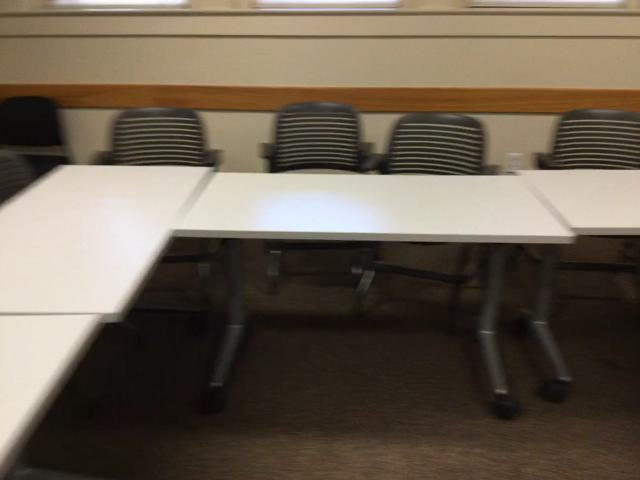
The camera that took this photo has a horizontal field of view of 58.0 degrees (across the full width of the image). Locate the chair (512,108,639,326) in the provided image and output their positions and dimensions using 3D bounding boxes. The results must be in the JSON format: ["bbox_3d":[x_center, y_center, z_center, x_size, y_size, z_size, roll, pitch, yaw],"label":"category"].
[{"bbox_3d":[1.210,-0.120,2.460,0.580,0.790,0.530,4,20,8],"label":"chair"}]

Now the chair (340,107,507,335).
[{"bbox_3d":[0.460,-0.130,2.540,0.580,0.780,0.660,7,21,14],"label":"chair"}]

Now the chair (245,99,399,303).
[{"bbox_3d":[-0.030,-0.220,2.840,0.640,0.840,0.650,-1,21,-6],"label":"chair"}]

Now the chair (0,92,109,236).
[{"bbox_3d":[-1.640,-0.470,3.430,0.490,0.730,0.490,5,21,9],"label":"chair"}]

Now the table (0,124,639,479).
[{"bbox_3d":[0.100,0.750,0.520,3.100,0.860,4.300,5,21,9],"label":"table"}]

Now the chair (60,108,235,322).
[{"bbox_3d":[-0.790,-0.160,2.750,0.630,0.850,0.570,-7,18,-15],"label":"chair"}]
